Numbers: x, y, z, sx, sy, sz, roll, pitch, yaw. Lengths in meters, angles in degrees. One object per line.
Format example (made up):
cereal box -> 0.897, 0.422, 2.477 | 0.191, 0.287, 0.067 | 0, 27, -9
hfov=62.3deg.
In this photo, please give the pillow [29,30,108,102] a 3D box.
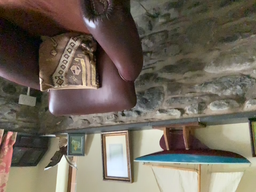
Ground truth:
pillow -> -0.360, -0.190, 1.250 | 0.400, 0.340, 0.150 | 16, 177, 36
